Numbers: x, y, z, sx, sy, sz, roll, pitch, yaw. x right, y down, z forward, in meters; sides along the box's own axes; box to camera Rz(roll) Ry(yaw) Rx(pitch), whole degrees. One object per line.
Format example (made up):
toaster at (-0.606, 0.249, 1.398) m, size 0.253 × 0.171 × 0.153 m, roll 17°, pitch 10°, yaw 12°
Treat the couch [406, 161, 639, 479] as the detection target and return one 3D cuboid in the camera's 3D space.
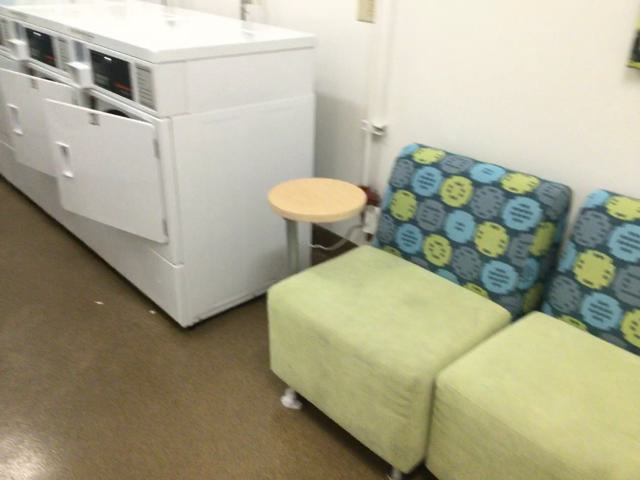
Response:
couch at (0.780, 0.380, 1.490) m, size 0.810 × 0.880 × 0.670 m, roll -20°, pitch 35°, yaw -39°
